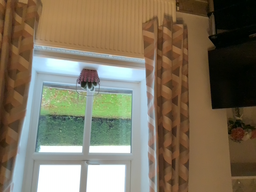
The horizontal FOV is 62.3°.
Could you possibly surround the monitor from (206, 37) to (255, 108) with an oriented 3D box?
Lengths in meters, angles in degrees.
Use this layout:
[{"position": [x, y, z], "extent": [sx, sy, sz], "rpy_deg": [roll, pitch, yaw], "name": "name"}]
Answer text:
[{"position": [1.100, -0.210, 1.620], "extent": [0.950, 0.540, 0.070], "rpy_deg": [-7, 166, 37], "name": "monitor"}]
